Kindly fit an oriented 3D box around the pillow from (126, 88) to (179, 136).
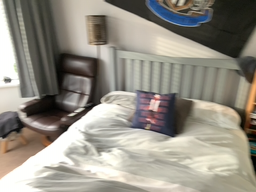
[{"bbox_3d":[0.210,0.130,1.820,0.370,0.330,0.120,12,0,22],"label":"pillow"}]
